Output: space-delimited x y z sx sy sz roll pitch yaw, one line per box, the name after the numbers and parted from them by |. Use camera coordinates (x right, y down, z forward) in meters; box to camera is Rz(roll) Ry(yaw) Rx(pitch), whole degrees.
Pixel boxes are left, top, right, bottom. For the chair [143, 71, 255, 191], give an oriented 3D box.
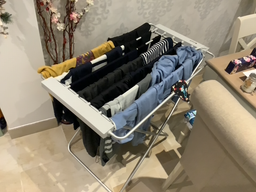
0.520 0.380 1.060 0.610 0.910 0.450 -10 47 -19 | chair
